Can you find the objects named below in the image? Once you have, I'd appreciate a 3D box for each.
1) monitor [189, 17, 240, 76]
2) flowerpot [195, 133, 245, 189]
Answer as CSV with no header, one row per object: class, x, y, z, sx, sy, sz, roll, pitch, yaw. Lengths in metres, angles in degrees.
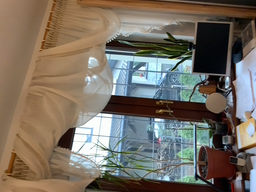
monitor,0.720,-0.410,1.770,0.030,0.350,0.430,-175,95,-89
flowerpot,0.680,0.490,1.610,0.220,0.260,0.360,92,-177,-70
